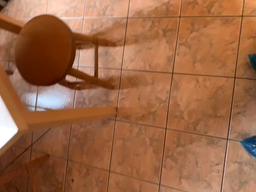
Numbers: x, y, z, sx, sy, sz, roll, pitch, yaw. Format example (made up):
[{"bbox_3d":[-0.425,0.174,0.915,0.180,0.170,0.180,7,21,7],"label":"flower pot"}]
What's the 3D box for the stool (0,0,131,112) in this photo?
[{"bbox_3d":[-0.310,-0.190,1.100,0.370,0.450,0.380,-43,75,13],"label":"stool"}]
